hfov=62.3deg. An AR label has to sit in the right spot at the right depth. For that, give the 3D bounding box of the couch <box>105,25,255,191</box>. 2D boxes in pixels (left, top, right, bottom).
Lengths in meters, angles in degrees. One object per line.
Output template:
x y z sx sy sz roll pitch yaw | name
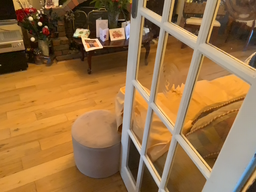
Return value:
0.910 0.070 1.670 1.970 0.890 0.930 -13 39 -23 | couch

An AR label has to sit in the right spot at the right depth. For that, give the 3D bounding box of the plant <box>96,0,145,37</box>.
-0.110 -1.140 2.840 0.520 0.520 0.390 -13 39 -23 | plant
